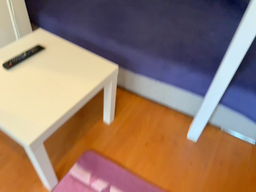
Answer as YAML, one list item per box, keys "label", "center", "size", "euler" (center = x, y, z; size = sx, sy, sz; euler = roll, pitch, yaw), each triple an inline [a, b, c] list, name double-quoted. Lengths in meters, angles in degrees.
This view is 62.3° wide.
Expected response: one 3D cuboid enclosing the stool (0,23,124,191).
- label: "stool"
  center: [-0.450, 0.020, 1.160]
  size: [0.590, 0.450, 0.610]
  euler: [27, 50, 18]
